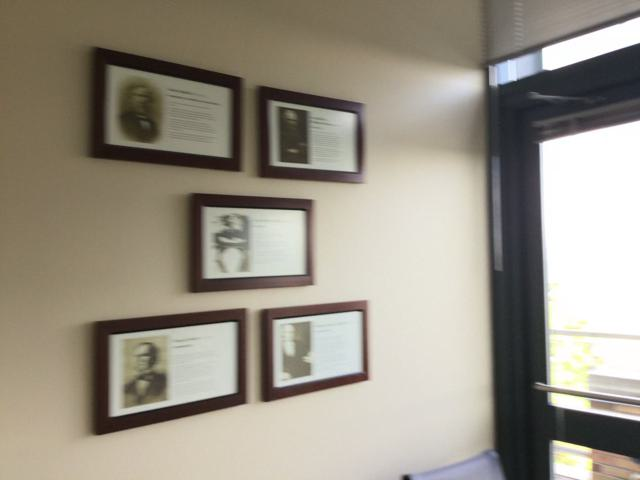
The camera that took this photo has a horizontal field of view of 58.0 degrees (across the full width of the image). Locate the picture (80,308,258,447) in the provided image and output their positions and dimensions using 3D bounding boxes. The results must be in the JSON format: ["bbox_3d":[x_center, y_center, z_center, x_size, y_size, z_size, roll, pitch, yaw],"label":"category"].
[{"bbox_3d":[-0.390,0.350,1.560,0.470,0.300,0.050,0,-6,-37],"label":"picture"}]

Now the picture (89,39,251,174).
[{"bbox_3d":[-0.400,-0.350,1.590,0.430,0.300,0.060,0,-6,-37],"label":"picture"}]

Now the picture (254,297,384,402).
[{"bbox_3d":[0.010,0.340,1.870,0.480,0.280,0.040,0,-6,-37],"label":"picture"}]

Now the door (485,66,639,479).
[{"bbox_3d":[1.170,0.540,1.900,0.210,2.220,1.140,0,-6,-37],"label":"door"}]

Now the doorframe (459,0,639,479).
[{"bbox_3d":[1.090,0.280,1.930,0.190,2.130,1.210,0,-6,-37],"label":"doorframe"}]

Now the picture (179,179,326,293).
[{"bbox_3d":[-0.190,-0.010,1.740,0.470,0.310,0.040,0,-6,-37],"label":"picture"}]

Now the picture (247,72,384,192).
[{"bbox_3d":[0.000,-0.340,1.900,0.500,0.330,0.050,0,-6,-37],"label":"picture"}]
